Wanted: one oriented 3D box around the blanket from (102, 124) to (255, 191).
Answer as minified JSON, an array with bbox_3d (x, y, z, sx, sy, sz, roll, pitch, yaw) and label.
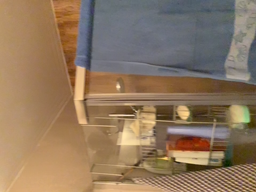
[{"bbox_3d":[0.460,0.300,0.800,0.340,1.050,0.210,-81,-11,-58],"label":"blanket"}]
